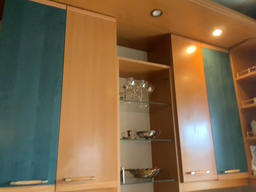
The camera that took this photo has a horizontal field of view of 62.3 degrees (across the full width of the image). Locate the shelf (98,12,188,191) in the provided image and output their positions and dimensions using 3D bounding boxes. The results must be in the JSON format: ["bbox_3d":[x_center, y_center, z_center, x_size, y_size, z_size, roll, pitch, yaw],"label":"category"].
[{"bbox_3d":[0.070,0.150,1.360,0.430,1.260,0.310,6,-17,-25],"label":"shelf"}]
